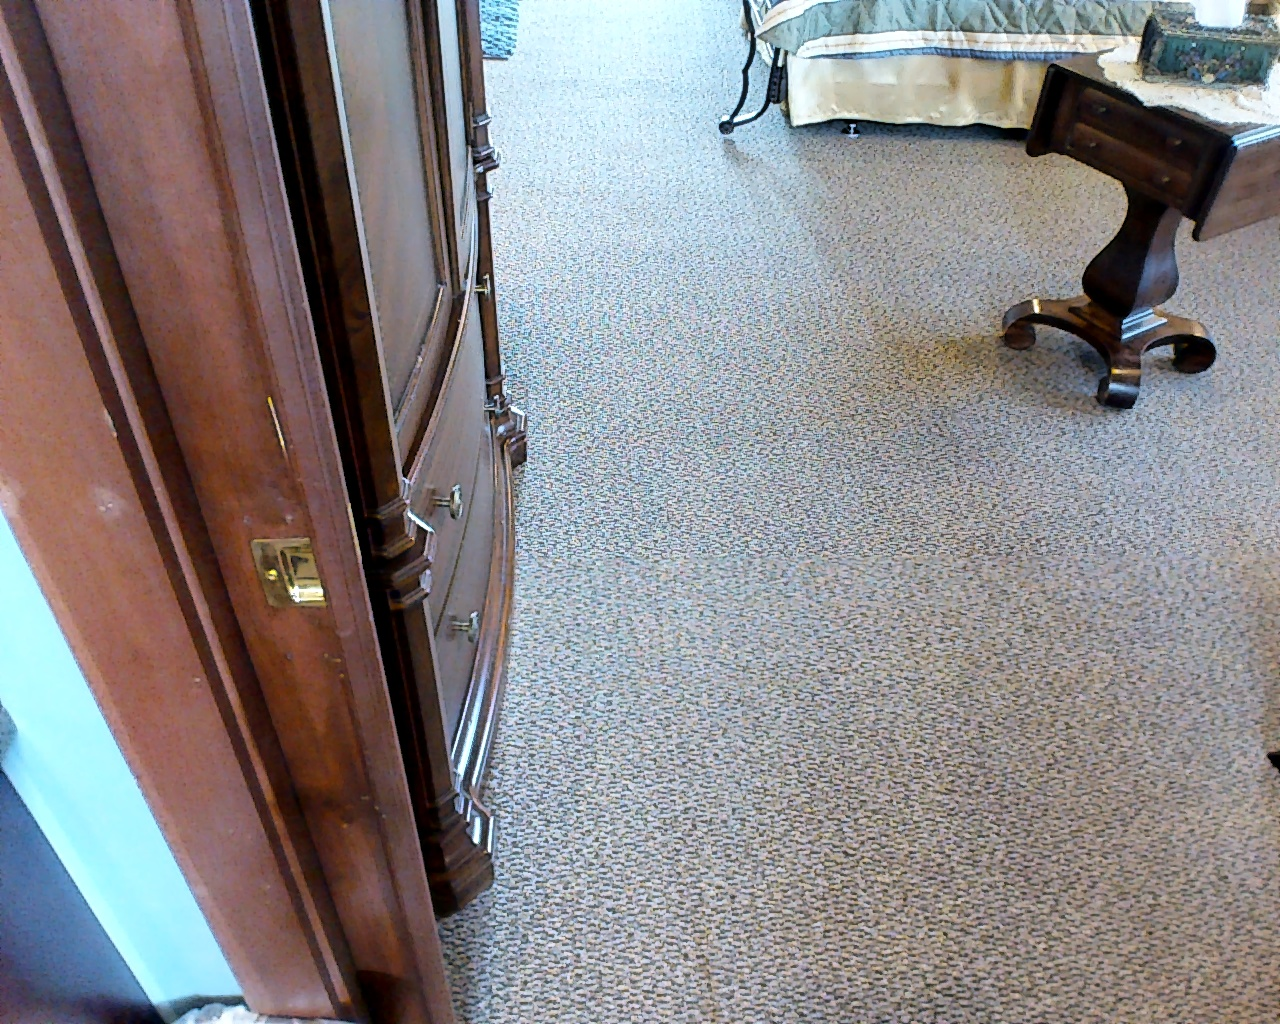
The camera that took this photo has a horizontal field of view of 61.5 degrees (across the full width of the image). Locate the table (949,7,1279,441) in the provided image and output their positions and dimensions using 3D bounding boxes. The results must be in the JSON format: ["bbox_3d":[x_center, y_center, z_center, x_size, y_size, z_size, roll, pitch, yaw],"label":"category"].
[{"bbox_3d":[1.230,-0.710,2.630,0.510,0.760,0.580,-23,48,-25],"label":"table"}]
